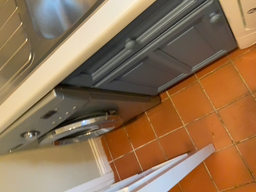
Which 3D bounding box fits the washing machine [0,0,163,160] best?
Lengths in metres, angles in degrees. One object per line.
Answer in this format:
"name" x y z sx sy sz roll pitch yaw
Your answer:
"washing machine" -0.360 -0.100 1.200 0.600 0.900 0.610 -33 71 26
